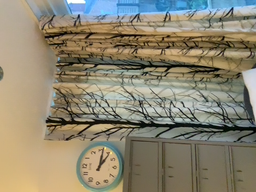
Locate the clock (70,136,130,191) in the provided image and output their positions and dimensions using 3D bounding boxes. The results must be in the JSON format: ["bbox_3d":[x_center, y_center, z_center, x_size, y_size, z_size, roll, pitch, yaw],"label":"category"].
[{"bbox_3d":[-0.200,0.540,1.600,0.120,0.400,0.430,84,-171,-71],"label":"clock"}]
